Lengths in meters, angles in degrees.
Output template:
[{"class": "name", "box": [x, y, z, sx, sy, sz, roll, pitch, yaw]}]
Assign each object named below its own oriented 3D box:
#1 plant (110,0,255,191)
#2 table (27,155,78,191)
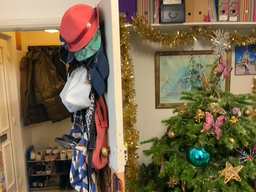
[{"class": "plant", "box": [0.600, 0.410, 1.530, 1.330, 1.950, 1.390, -3, 7, -7]}, {"class": "table", "box": [-1.080, 1.130, 3.080, 0.620, 0.410, 0.280, -2, 7, -4]}]
